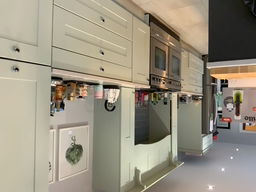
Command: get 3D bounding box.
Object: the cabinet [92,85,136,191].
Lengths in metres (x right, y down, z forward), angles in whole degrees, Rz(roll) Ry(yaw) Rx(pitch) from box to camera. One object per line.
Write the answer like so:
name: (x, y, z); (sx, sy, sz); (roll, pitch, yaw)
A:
cabinet: (-0.170, 0.480, 2.590); (0.430, 1.190, 0.310); (0, 179, 32)

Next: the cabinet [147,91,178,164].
cabinet: (0.620, 0.530, 3.830); (0.460, 1.220, 0.320); (0, 179, 32)
